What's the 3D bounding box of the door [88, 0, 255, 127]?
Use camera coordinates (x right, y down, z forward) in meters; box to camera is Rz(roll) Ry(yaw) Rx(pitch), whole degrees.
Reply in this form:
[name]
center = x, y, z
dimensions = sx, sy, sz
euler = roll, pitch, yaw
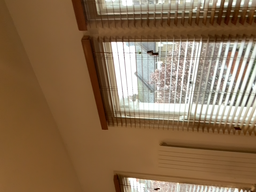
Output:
[door]
center = 0.620, -0.480, 1.440
dimensions = 0.070, 1.750, 1.920
euler = -78, -14, -48
